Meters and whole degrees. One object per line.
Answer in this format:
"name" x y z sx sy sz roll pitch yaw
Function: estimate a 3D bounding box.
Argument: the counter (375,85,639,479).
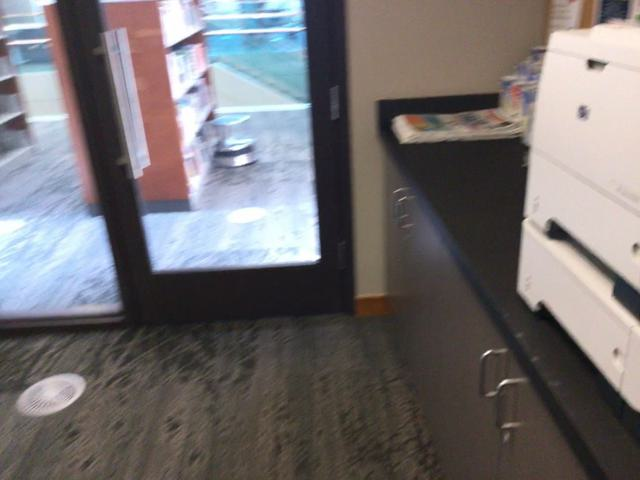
"counter" 0.580 0.080 0.910 0.630 0.240 2.760 -2 23 -2

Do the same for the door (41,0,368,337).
"door" -0.380 -0.360 2.250 1.090 1.540 0.230 -2 23 -2

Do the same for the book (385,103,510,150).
"book" 0.440 -0.410 2.060 0.370 0.100 0.290 -2 23 -2
